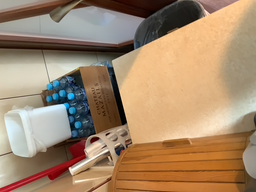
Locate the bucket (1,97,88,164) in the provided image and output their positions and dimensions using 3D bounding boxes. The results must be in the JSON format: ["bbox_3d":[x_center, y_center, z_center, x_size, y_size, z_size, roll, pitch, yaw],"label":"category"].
[{"bbox_3d":[-0.370,0.150,0.950,0.240,0.240,0.220,-14,89,40],"label":"bucket"}]
